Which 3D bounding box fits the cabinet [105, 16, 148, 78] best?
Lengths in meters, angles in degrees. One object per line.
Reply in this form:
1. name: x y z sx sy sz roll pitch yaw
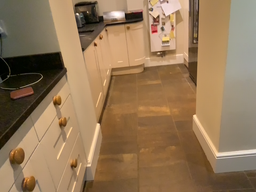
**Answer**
1. cabinet: -0.010 -0.900 3.850 0.630 0.950 0.600 -5 25 2
